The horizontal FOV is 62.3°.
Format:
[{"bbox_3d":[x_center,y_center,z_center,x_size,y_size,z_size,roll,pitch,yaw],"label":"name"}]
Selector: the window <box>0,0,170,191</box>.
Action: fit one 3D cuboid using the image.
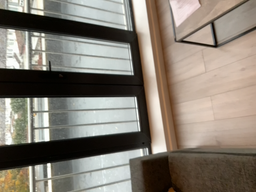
[{"bbox_3d":[-0.620,0.000,1.830,0.190,2.170,2.940,-23,66,57],"label":"window"}]
